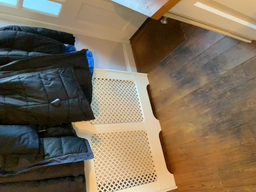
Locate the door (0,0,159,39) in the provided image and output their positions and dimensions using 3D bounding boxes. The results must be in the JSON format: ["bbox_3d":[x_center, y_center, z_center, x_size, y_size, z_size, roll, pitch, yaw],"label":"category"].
[{"bbox_3d":[-0.620,-0.870,1.820,0.570,1.870,0.080,-38,58,48],"label":"door"}]
